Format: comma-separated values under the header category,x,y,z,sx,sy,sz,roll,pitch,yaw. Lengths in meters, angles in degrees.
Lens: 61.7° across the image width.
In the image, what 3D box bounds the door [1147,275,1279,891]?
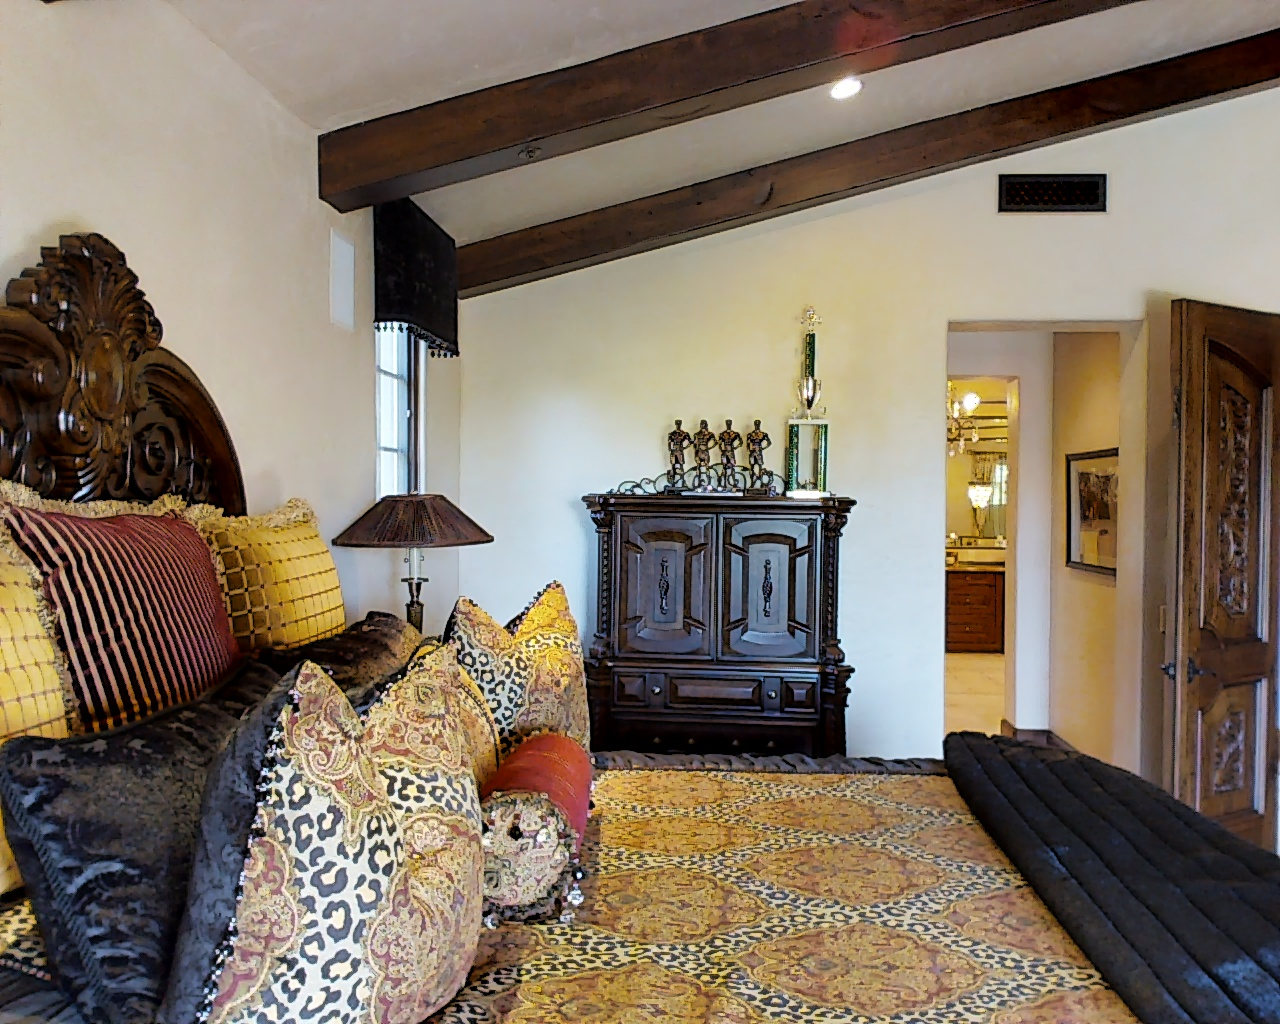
category,x,y,z,sx,sy,sz,roll,pitch,yaw
door,2.490,0.290,4.570,0.810,2.480,0.130,-1,2,-32

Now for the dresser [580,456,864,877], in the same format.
category,x,y,z,sx,sy,sz,roll,pitch,yaw
dresser,0.360,0.630,4.740,1.170,1.740,0.550,0,2,6

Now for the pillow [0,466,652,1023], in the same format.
category,x,y,z,sx,sy,sz,roll,pitch,yaw
pillow,-0.580,0.270,1.900,1.050,0.680,1.760,0,2,6
